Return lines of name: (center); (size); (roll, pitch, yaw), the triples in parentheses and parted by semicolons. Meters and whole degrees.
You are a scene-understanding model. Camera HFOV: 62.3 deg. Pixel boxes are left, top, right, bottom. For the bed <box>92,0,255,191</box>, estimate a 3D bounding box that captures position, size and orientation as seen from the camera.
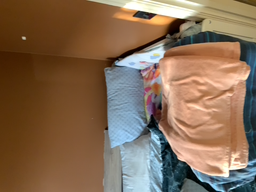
bed: (0.400, 0.010, 1.540); (1.370, 0.990, 0.710); (178, 93, -67)
